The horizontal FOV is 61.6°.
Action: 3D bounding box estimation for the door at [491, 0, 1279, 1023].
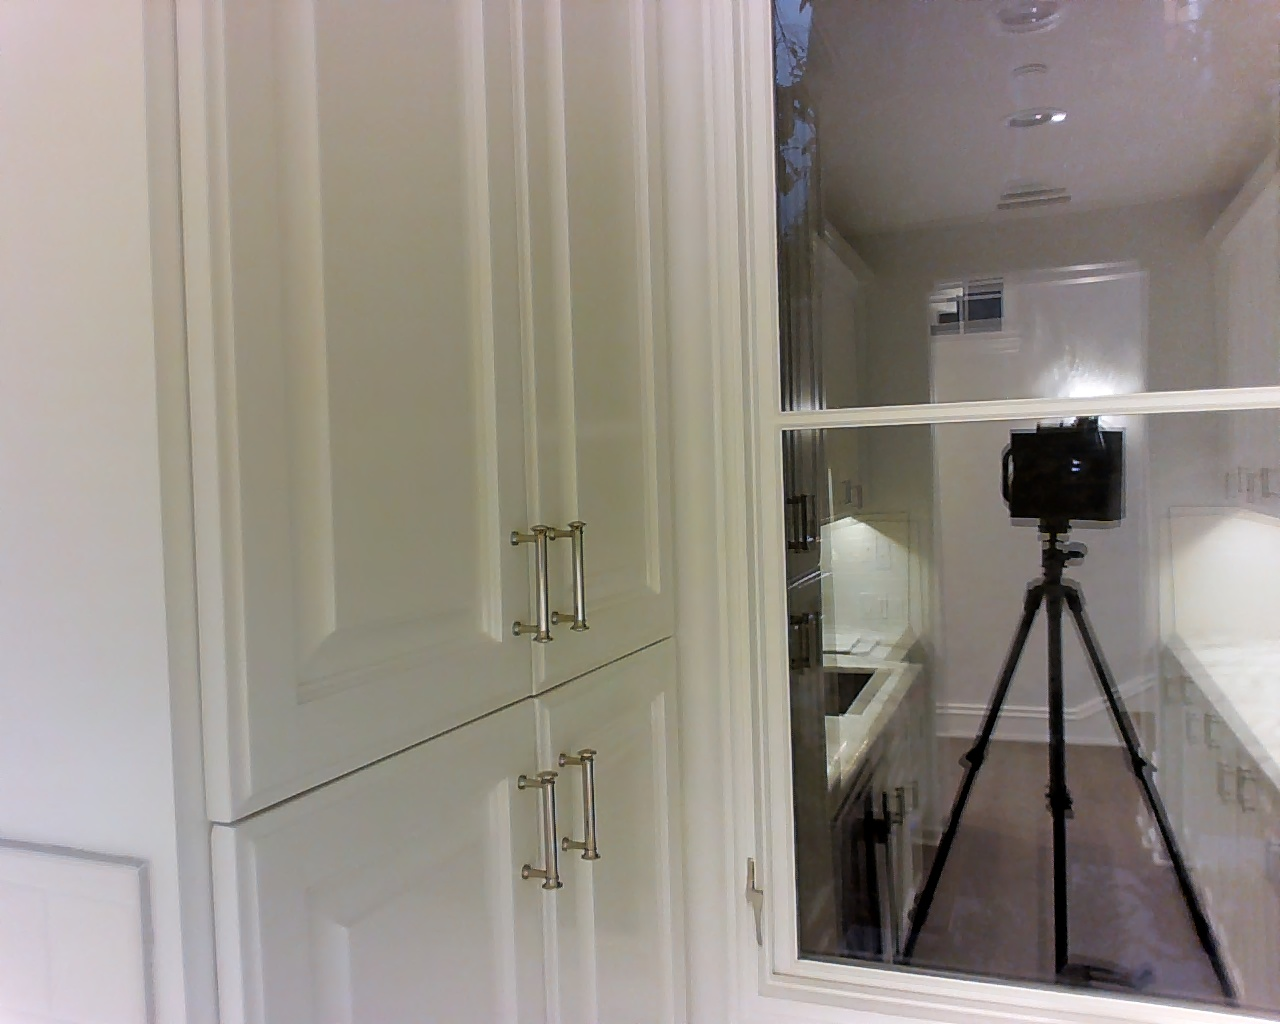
[{"bbox_3d":[0.390,0.250,1.040,0.900,2.701,0.480,-1,1,22],"label":"door"}]
